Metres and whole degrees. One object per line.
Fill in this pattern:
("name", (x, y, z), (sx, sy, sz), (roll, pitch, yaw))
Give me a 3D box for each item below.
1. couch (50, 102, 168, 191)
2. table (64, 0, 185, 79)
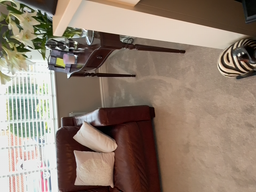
("couch", (-0.250, 0.940, 2.200), (1.090, 0.800, 1.590), (-17, 77, 59))
("table", (-0.090, -0.500, 1.910), (0.840, 0.730, 0.490), (-19, 76, 59))
